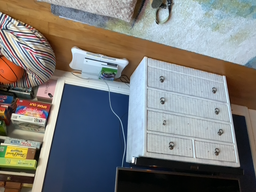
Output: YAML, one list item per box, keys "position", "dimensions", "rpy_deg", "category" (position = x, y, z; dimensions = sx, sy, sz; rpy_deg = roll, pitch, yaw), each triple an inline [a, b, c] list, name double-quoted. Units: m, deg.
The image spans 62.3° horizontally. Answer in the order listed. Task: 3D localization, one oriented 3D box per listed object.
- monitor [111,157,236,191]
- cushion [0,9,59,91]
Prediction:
- position: [0.390, 0.880, 1.600]
  dimensions: [1.090, 0.700, 0.050]
  rpy_deg: [11, 154, -17]
  category: "monitor"
- position: [-0.940, -0.350, 1.720]
  dimensions: [0.680, 0.250, 0.680]
  rpy_deg: [10, 155, -14]
  category: "cushion"
